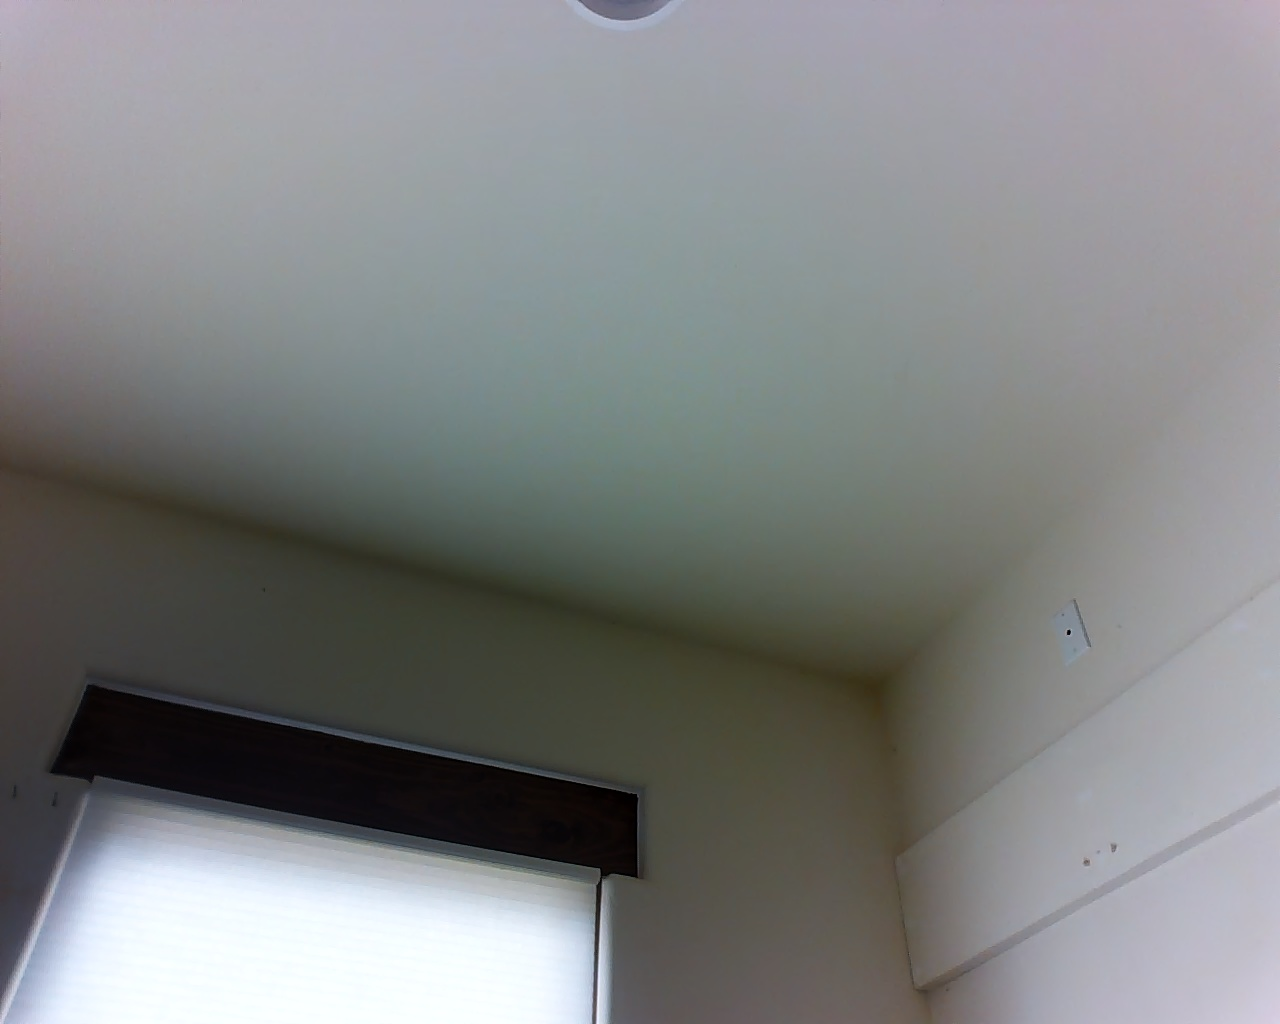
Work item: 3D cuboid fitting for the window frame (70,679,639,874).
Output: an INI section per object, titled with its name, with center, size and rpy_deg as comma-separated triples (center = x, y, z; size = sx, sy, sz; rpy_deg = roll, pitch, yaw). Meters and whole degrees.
[window frame]
center = -0.480, 0.500, 1.980
size = 1.020, 0.150, 0.050
rpy_deg = 17, -44, -17
